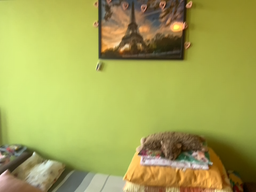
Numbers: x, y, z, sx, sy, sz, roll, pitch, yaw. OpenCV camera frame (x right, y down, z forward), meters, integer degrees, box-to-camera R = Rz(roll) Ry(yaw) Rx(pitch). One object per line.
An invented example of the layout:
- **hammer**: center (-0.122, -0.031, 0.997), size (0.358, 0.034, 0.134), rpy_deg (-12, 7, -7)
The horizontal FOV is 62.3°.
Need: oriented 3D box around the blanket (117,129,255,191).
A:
- **blanket**: center (0.400, 0.650, 1.610), size (0.850, 0.560, 0.600), rpy_deg (4, 10, 11)
